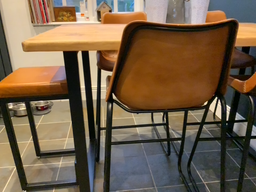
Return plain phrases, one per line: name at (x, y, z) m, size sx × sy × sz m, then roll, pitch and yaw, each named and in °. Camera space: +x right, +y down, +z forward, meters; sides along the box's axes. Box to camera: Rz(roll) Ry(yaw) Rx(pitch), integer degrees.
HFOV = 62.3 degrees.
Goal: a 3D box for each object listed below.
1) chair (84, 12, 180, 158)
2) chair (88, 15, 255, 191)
chair at (0.010, -0.100, 1.590) m, size 0.540 × 0.970 × 0.490 m, roll -2°, pitch 22°, yaw -4°
chair at (0.130, 0.160, 0.960) m, size 0.510 × 0.970 × 0.500 m, roll -3°, pitch 23°, yaw -6°
